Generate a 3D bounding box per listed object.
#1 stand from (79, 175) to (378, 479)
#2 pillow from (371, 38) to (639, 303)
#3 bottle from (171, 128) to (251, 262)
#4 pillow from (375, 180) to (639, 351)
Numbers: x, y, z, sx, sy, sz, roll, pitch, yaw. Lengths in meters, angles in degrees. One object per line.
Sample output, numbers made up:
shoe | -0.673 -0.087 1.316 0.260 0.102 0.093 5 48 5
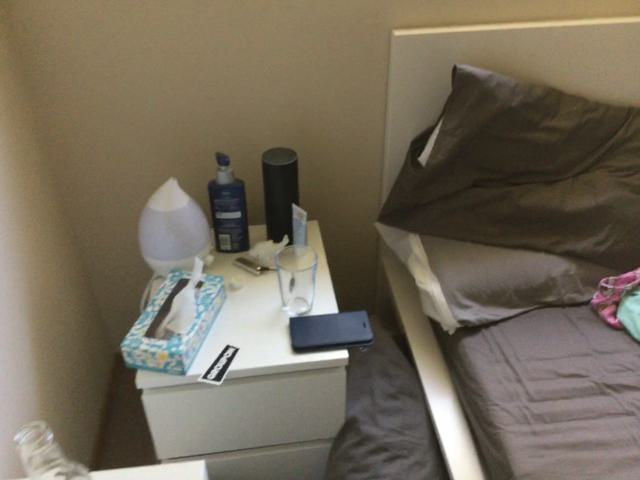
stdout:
stand | -0.160 0.280 1.430 0.520 0.630 0.580 -6 35 -1
pillow | 0.570 -0.170 1.320 0.860 0.450 0.310 -6 35 -1
bottle | -0.250 -0.110 1.380 0.130 0.230 0.220 -5 35 -1
pillow | 0.420 0.040 1.400 0.510 0.120 0.440 -6 35 -1
